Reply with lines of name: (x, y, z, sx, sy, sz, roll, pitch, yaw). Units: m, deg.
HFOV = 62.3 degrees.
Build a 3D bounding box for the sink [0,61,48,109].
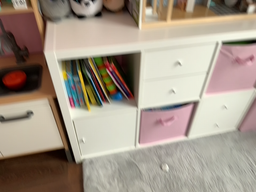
sink: (-0.530, -0.060, 1.040, 0.240, 0.080, 0.230, -9, 43, -10)
